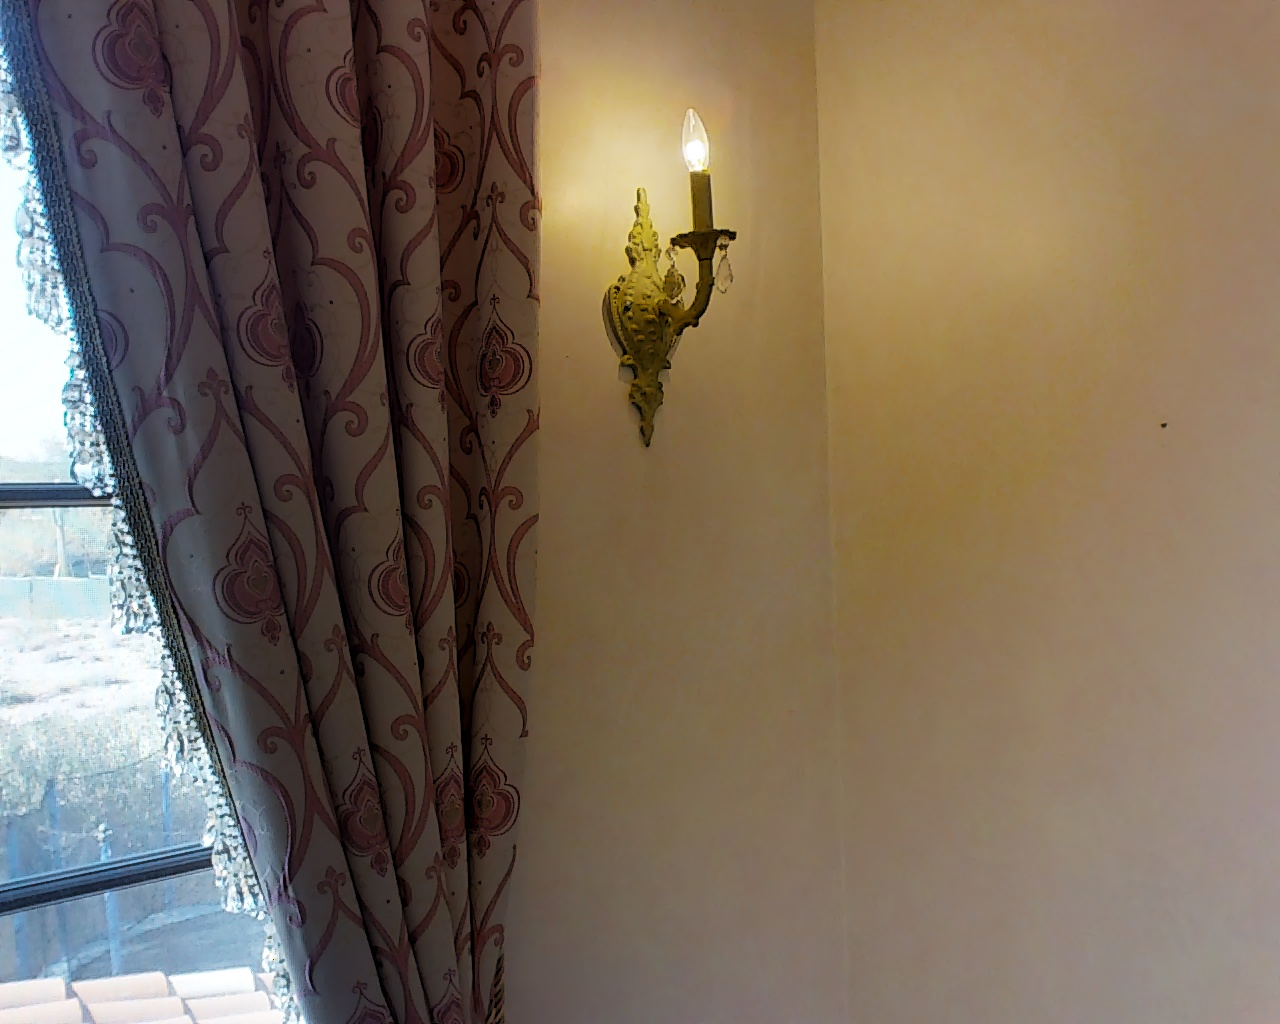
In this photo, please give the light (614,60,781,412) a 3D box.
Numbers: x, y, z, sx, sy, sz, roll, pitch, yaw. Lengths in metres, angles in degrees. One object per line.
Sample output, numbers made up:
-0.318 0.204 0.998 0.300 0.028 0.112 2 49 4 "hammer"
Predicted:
0.060 -0.280 1.140 0.110 0.330 0.130 -1 0 -39 "light"
